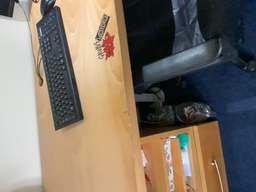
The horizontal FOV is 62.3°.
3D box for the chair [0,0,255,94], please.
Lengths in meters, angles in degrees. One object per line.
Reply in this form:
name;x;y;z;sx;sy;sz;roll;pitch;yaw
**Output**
chair;0.110;-0.350;0.790;0.730;1.010;0.630;-5;87;42
